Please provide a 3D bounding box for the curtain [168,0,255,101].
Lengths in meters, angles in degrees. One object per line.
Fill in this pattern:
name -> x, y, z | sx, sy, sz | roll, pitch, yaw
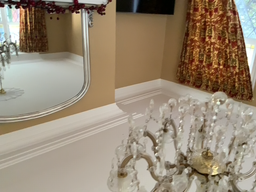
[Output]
curtain -> 1.050, -1.350, 2.360 | 0.180, 2.640, 1.040 | -15, -153, -37
